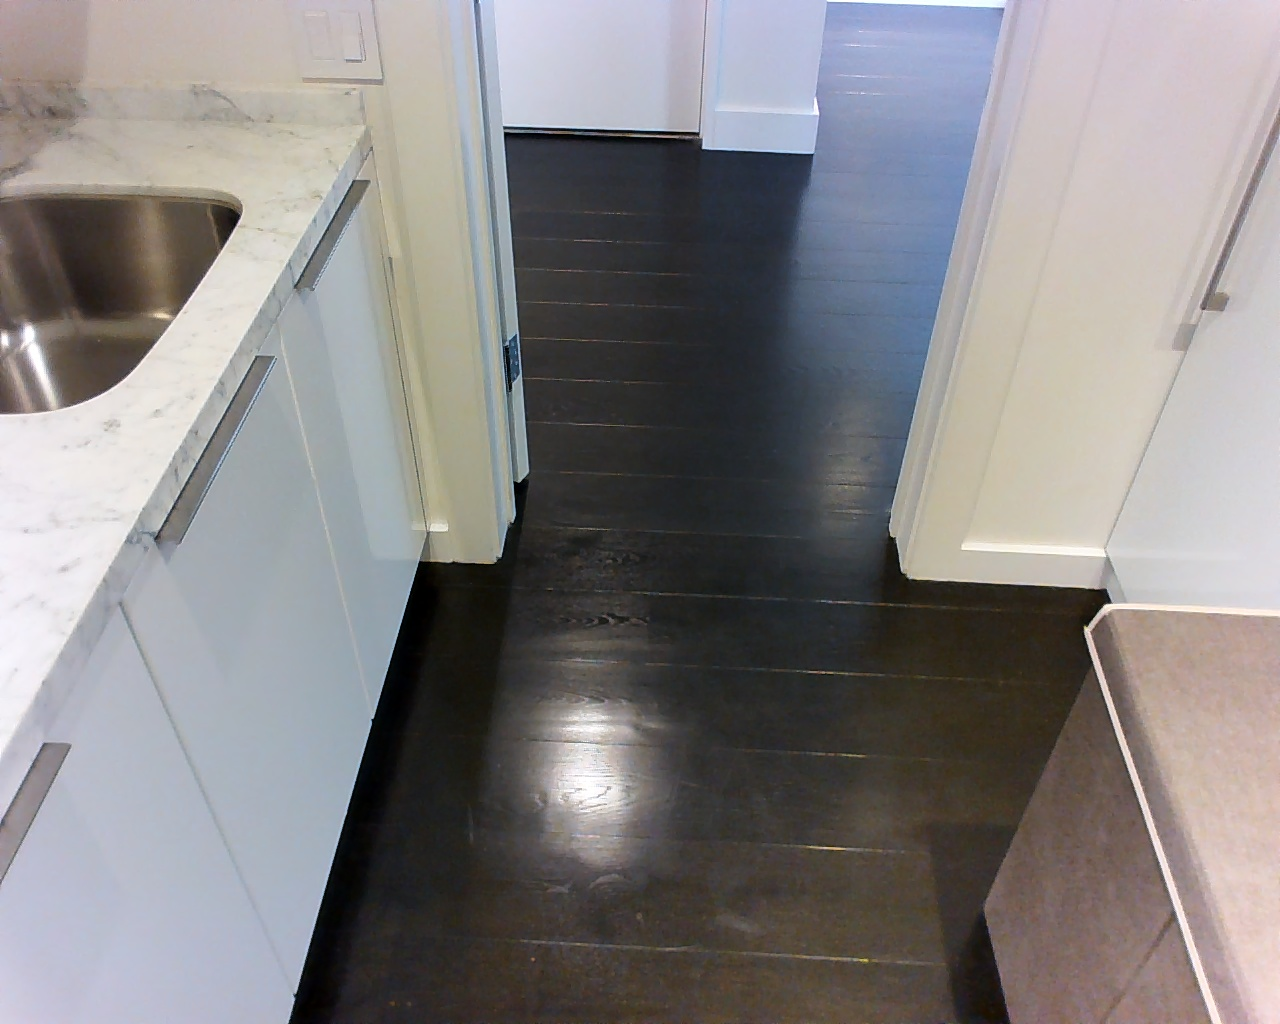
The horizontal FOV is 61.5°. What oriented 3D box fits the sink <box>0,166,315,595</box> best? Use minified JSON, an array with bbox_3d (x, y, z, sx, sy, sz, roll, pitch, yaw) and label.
[{"bbox_3d":[-0.740,-0.190,1.350,0.470,0.270,0.530,2,41,2],"label":"sink"}]
